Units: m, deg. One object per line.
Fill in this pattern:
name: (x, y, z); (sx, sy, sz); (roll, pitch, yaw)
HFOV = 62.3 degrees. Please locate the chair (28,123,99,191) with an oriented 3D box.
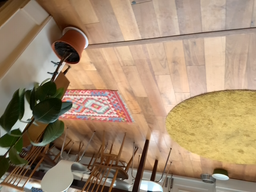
chair: (-0.820, 0.890, 2.880); (0.440, 0.860, 0.500); (2, 142, 21)

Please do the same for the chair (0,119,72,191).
chair: (-1.280, 0.850, 3.030); (0.440, 0.860, 0.500); (2, 142, 21)

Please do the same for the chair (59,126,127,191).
chair: (-0.400, 0.910, 2.720); (0.440, 0.860, 0.500); (2, 142, 21)
